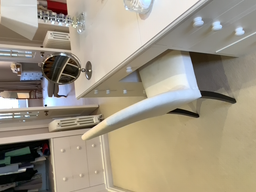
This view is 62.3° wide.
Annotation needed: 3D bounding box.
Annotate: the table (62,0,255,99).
[{"bbox_3d":[0.150,-0.770,1.640,1.800,0.810,1.230,-24,71,57],"label":"table"}]
